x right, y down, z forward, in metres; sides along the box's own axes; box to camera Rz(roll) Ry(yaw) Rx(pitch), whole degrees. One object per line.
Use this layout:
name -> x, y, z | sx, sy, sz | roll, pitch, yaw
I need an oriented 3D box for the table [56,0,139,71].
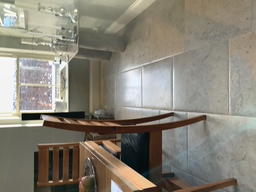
table -> -0.560, -0.780, 3.150 | 1.620, 0.770, 0.570 | 179, 92, -65
